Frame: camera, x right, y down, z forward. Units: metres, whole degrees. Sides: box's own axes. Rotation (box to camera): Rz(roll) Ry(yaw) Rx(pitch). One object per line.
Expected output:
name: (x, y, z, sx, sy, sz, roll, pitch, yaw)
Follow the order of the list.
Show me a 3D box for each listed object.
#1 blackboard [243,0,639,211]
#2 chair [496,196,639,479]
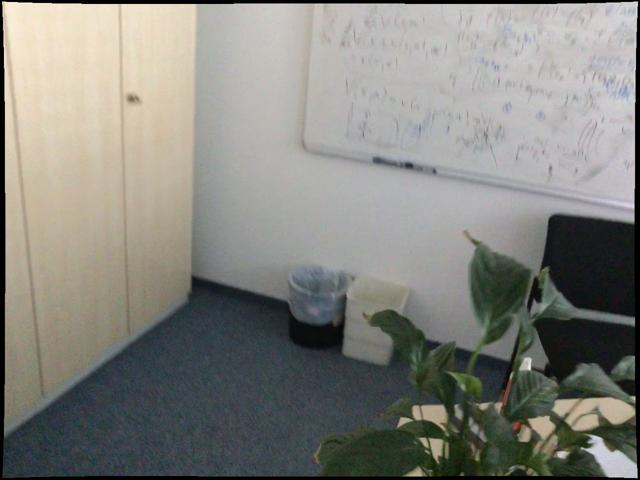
blackboard: (1.059, -0.791, 2.030, 2.888, 1.331, 0.190, 12, 26, 18)
chair: (0.979, 0.370, 2.040, 0.550, 0.821, 0.620, 10, 25, 13)
